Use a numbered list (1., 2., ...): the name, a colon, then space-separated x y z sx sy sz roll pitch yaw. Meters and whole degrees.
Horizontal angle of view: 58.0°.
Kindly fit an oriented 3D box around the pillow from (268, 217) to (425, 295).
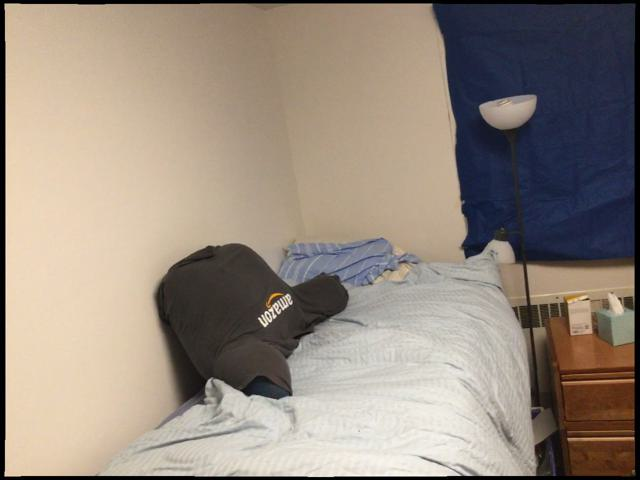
1. pillow: 0.160 0.070 2.900 0.659 0.200 0.580 -4 13 17

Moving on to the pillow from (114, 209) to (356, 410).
1. pillow: -0.220 0.190 2.060 0.479 0.401 0.910 -4 13 16
